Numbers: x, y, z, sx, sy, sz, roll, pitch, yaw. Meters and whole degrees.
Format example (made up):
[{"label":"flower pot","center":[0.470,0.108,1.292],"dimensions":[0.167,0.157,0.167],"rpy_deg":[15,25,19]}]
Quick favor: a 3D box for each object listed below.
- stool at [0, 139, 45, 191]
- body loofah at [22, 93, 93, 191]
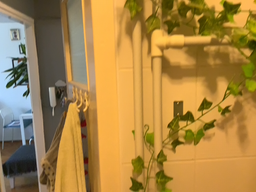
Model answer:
[{"label":"stool","center":[-1.510,0.960,3.070],"dimensions":[0.470,0.380,0.800],"rpy_deg":[-4,9,-16]},{"label":"body loofah","center":[-0.310,0.540,1.030],"dimensions":[0.210,1.040,0.530],"rpy_deg":[-4,10,-18]}]
